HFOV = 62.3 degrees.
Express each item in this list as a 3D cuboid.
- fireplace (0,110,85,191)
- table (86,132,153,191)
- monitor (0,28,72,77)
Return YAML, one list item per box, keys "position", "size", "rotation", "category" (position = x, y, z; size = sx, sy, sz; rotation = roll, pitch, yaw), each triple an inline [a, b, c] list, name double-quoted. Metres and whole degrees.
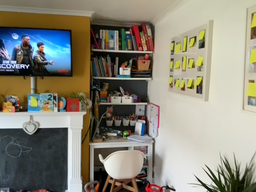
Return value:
- position: [-1.220, 0.790, 2.540]
  size: [1.350, 1.190, 0.390]
  rotation: [1, 6, -10]
  category: "fireplace"
- position: [-0.160, 0.980, 3.220]
  size: [0.930, 0.730, 0.530]
  rotation: [1, 6, -12]
  category: "table"
- position: [-1.170, -0.510, 2.540]
  size: [0.950, 0.550, 0.040]
  rotation: [0, 17, -12]
  category: "monitor"
